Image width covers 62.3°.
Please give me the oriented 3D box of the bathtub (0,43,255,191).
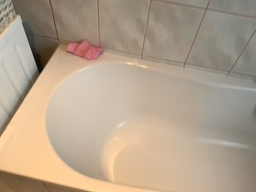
[{"bbox_3d":[0.390,0.330,1.130,1.780,0.570,0.690,12,52,3],"label":"bathtub"}]
